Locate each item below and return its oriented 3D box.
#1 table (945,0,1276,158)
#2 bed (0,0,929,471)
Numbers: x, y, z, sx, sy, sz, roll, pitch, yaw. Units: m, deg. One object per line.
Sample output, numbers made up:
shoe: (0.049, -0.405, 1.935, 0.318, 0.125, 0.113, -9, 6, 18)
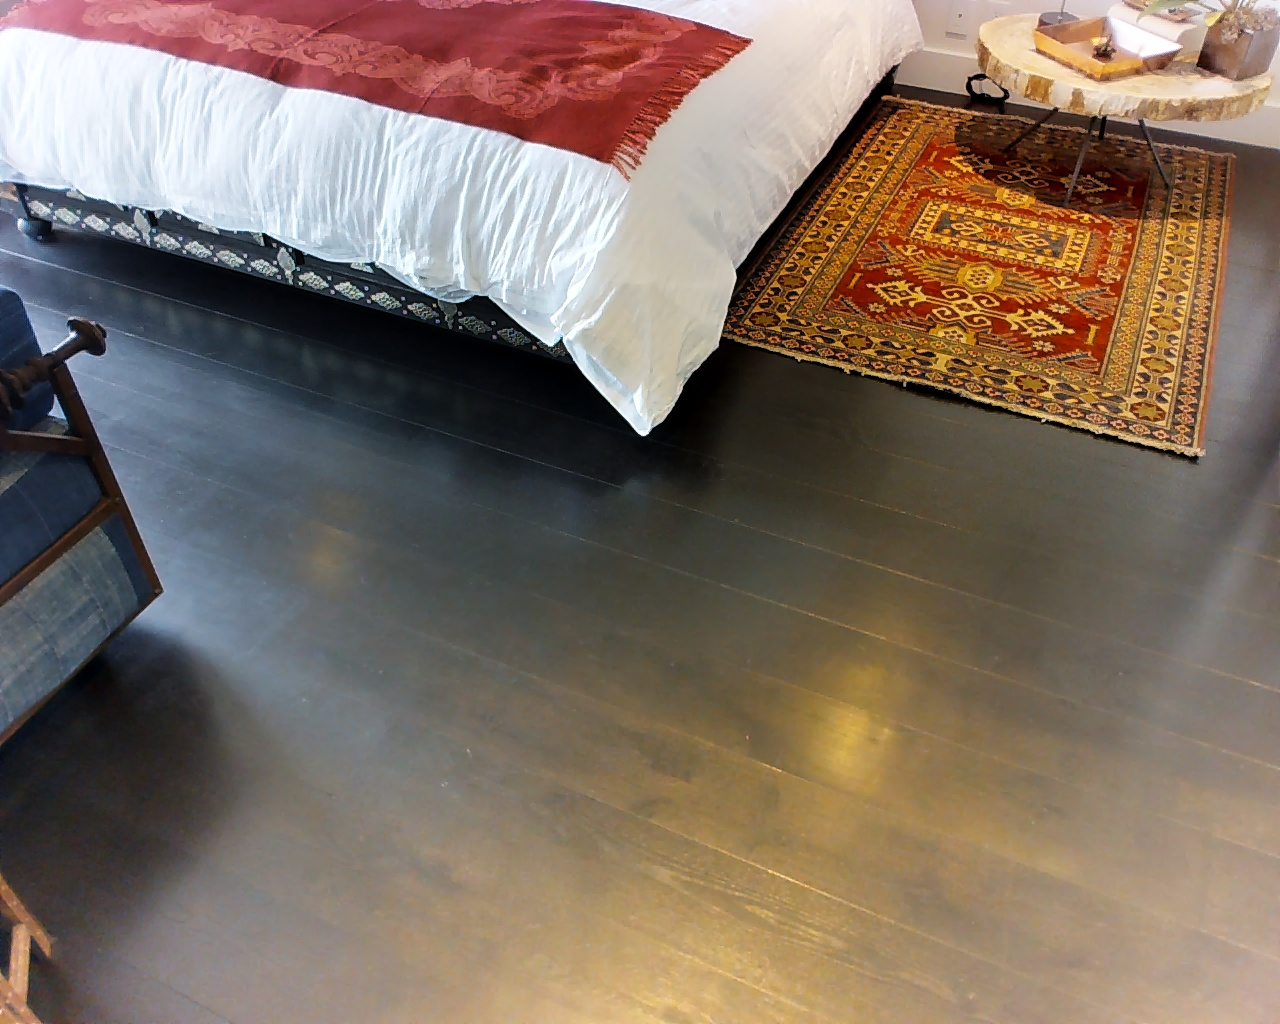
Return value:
table: (1.470, -1.390, 3.330, 0.830, 0.130, 0.810, 18, 45, 19)
bed: (-0.440, -1.510, 3.250, 2.120, 1.000, 2.470, 17, 45, 18)
